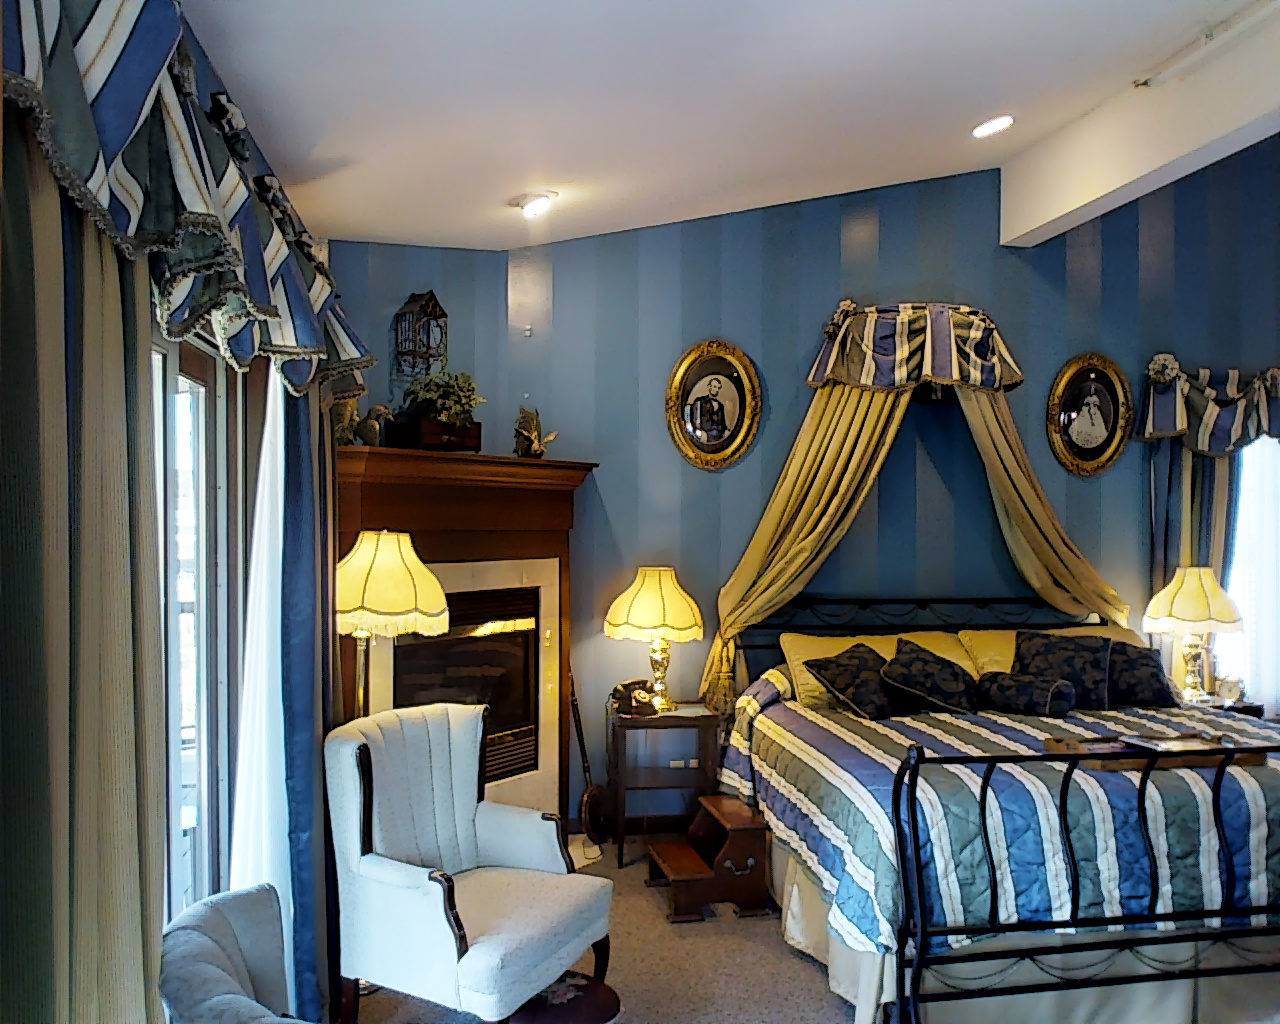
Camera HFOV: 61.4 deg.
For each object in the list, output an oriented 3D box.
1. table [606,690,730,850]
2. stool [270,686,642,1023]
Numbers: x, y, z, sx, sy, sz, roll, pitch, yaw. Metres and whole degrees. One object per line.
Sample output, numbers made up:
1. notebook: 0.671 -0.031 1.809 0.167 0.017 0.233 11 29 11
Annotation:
1. table: 0.120 1.180 5.010 0.500 0.610 0.490 -1 0 -7
2. stool: -0.520 1.050 3.210 0.780 0.900 0.770 -1 0 26
